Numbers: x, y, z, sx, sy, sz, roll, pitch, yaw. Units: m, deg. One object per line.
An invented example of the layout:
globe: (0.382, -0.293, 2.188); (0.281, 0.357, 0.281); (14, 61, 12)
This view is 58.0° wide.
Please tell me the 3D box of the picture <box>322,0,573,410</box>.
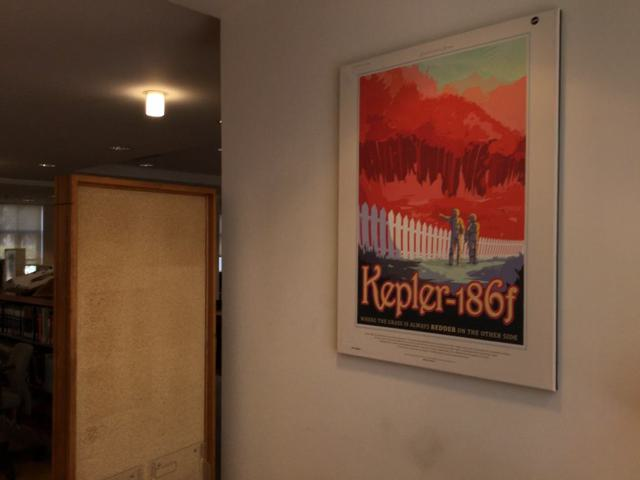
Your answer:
picture: (0.340, -0.100, 1.790); (0.830, 1.070, 0.060); (0, -3, 43)

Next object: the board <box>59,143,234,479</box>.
board: (-0.600, 0.640, 2.110); (0.080, 1.880, 0.700); (1, 0, 34)
